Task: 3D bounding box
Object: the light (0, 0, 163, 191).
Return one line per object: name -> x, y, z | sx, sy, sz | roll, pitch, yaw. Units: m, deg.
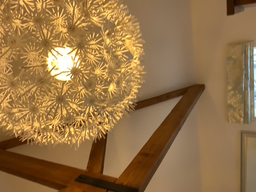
light -> -0.840, -0.260, 1.420 | 1.860, 1.000, 1.000 | -2, 21, 22
